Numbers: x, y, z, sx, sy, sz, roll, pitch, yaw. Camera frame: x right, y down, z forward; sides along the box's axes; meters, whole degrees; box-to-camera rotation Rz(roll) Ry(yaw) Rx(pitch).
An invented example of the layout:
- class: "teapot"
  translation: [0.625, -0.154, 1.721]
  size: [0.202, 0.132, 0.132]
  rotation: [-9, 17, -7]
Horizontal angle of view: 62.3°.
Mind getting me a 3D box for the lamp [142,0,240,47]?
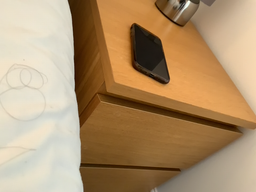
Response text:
- class: "lamp"
  translation: [0.200, -0.310, 0.590]
  size: [0.160, 0.270, 0.150]
  rotation: [14, 44, -33]
